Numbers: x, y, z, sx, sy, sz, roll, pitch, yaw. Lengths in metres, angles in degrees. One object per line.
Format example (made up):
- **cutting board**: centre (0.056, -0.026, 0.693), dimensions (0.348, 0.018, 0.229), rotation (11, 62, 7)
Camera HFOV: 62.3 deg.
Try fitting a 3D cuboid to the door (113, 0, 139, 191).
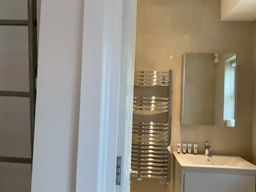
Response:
- **door**: centre (0.000, 0.320, 1.180), dimensions (0.050, 2.090, 0.870), rotation (2, -2, 3)
